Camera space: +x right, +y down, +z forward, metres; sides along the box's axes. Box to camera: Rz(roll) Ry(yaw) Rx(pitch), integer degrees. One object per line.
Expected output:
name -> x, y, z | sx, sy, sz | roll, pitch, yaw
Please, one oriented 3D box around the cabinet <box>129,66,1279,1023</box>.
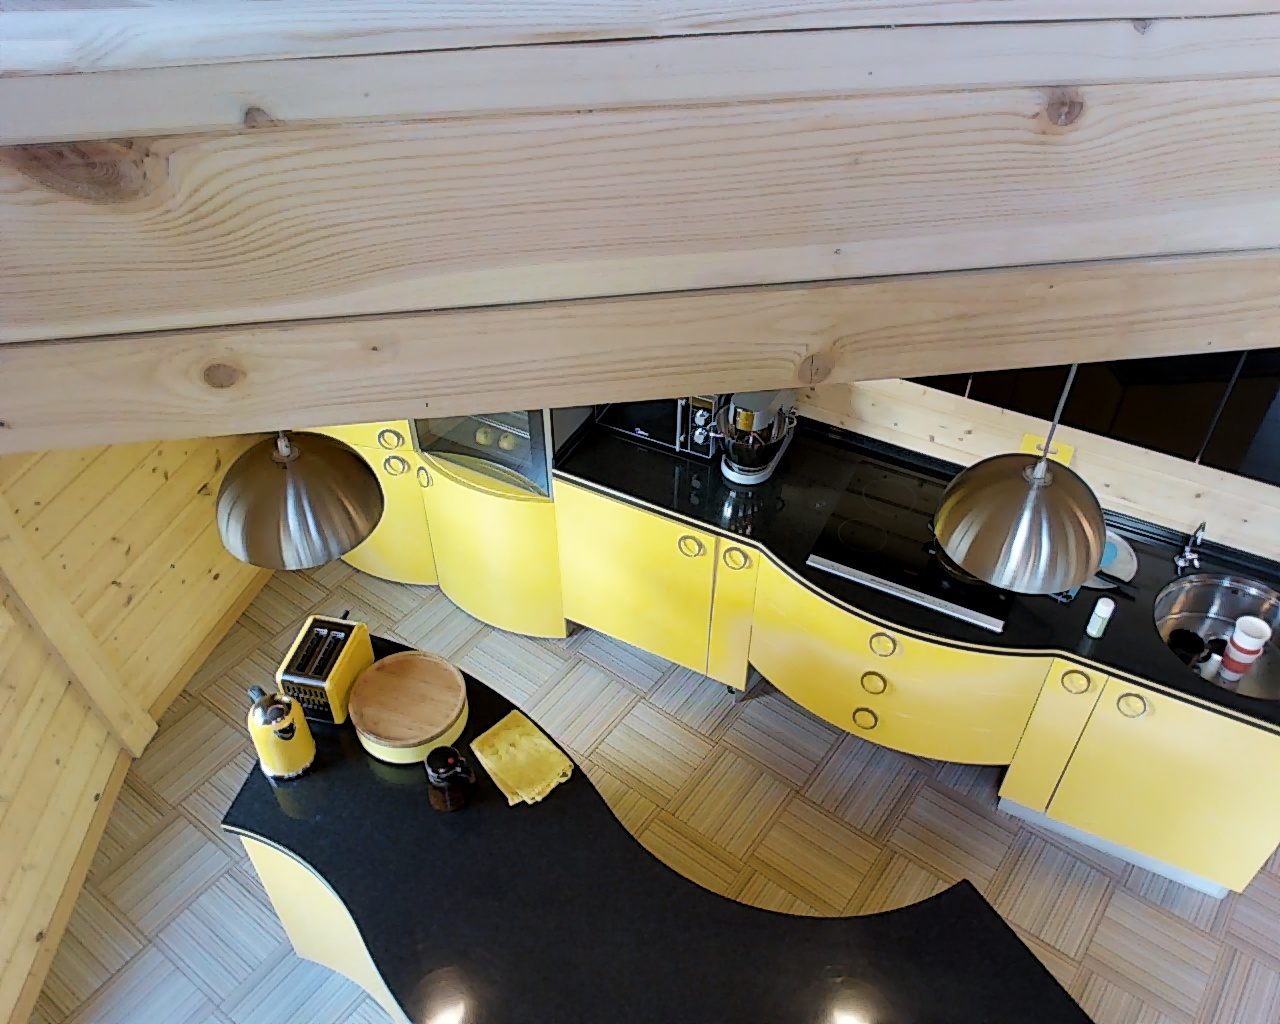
cabinet -> 0.530, 0.220, 3.120 | 3.870, 2.040, 0.780 | 20, 47, 21
